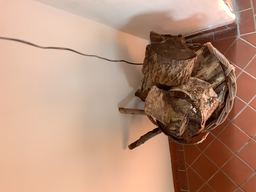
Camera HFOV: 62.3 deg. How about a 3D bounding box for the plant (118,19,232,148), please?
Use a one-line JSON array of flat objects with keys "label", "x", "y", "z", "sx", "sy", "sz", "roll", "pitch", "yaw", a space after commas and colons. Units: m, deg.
[{"label": "plant", "x": 0.320, "y": -0.050, "z": 1.310, "sx": 0.430, "sy": 0.580, "sz": 0.580, "roll": -7, "pitch": 89, "yaw": 36}]
